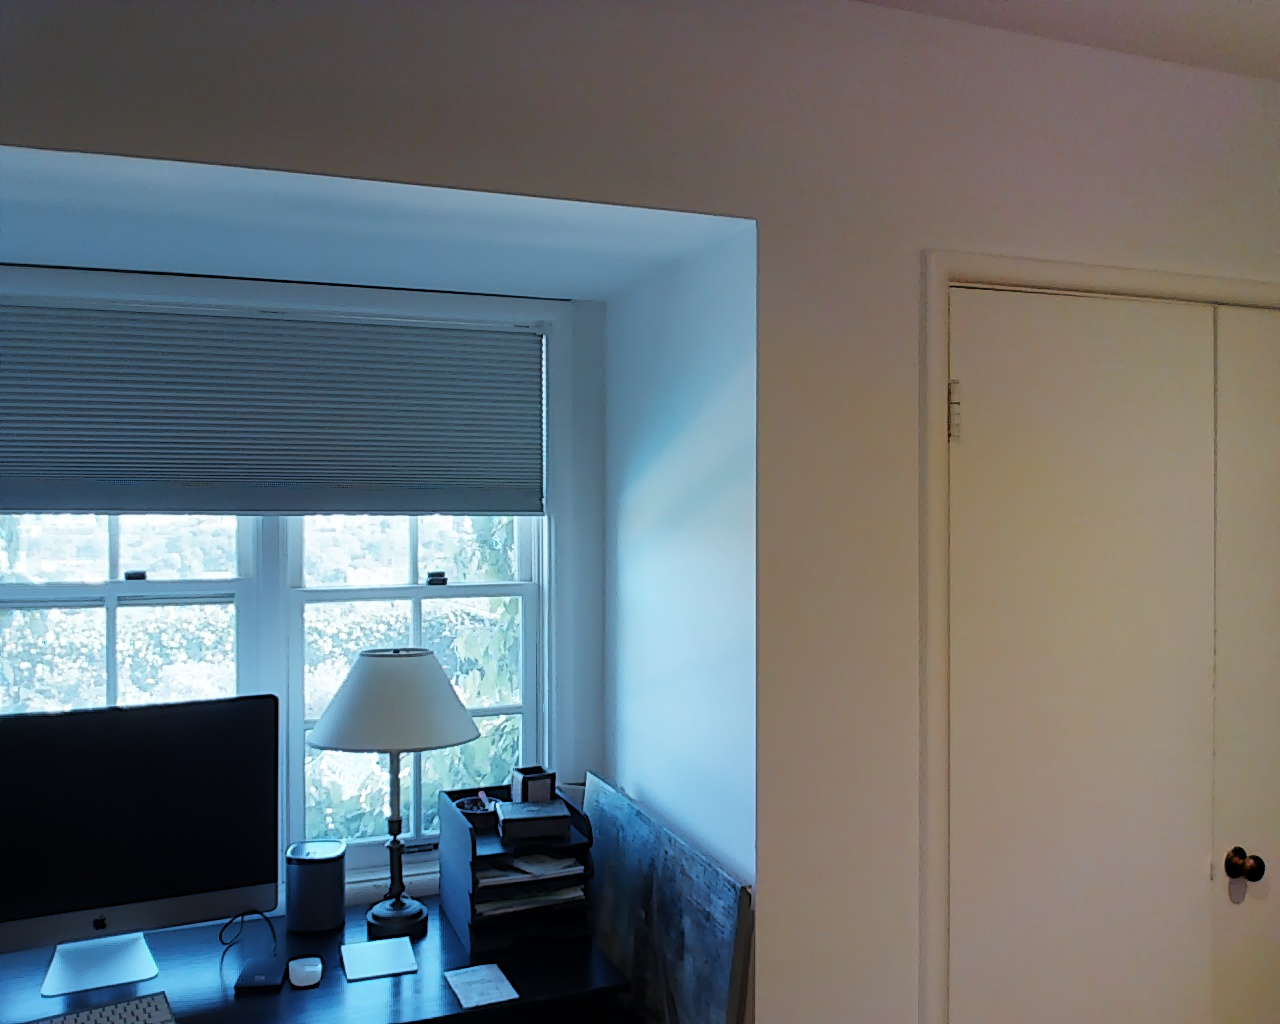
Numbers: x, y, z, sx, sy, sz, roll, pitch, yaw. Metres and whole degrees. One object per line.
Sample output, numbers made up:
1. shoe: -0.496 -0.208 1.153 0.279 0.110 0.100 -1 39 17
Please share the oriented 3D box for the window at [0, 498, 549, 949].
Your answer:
1. window: -0.820 0.420 2.390 1.240 0.900 0.130 0 1 -21
